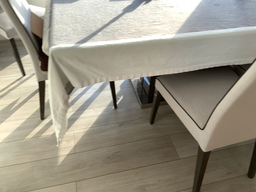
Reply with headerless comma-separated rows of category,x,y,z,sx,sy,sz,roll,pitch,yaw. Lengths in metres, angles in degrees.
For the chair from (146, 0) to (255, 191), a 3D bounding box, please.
chair,0.490,-0.040,1.110,0.530,1.020,0.610,-9,44,-13
